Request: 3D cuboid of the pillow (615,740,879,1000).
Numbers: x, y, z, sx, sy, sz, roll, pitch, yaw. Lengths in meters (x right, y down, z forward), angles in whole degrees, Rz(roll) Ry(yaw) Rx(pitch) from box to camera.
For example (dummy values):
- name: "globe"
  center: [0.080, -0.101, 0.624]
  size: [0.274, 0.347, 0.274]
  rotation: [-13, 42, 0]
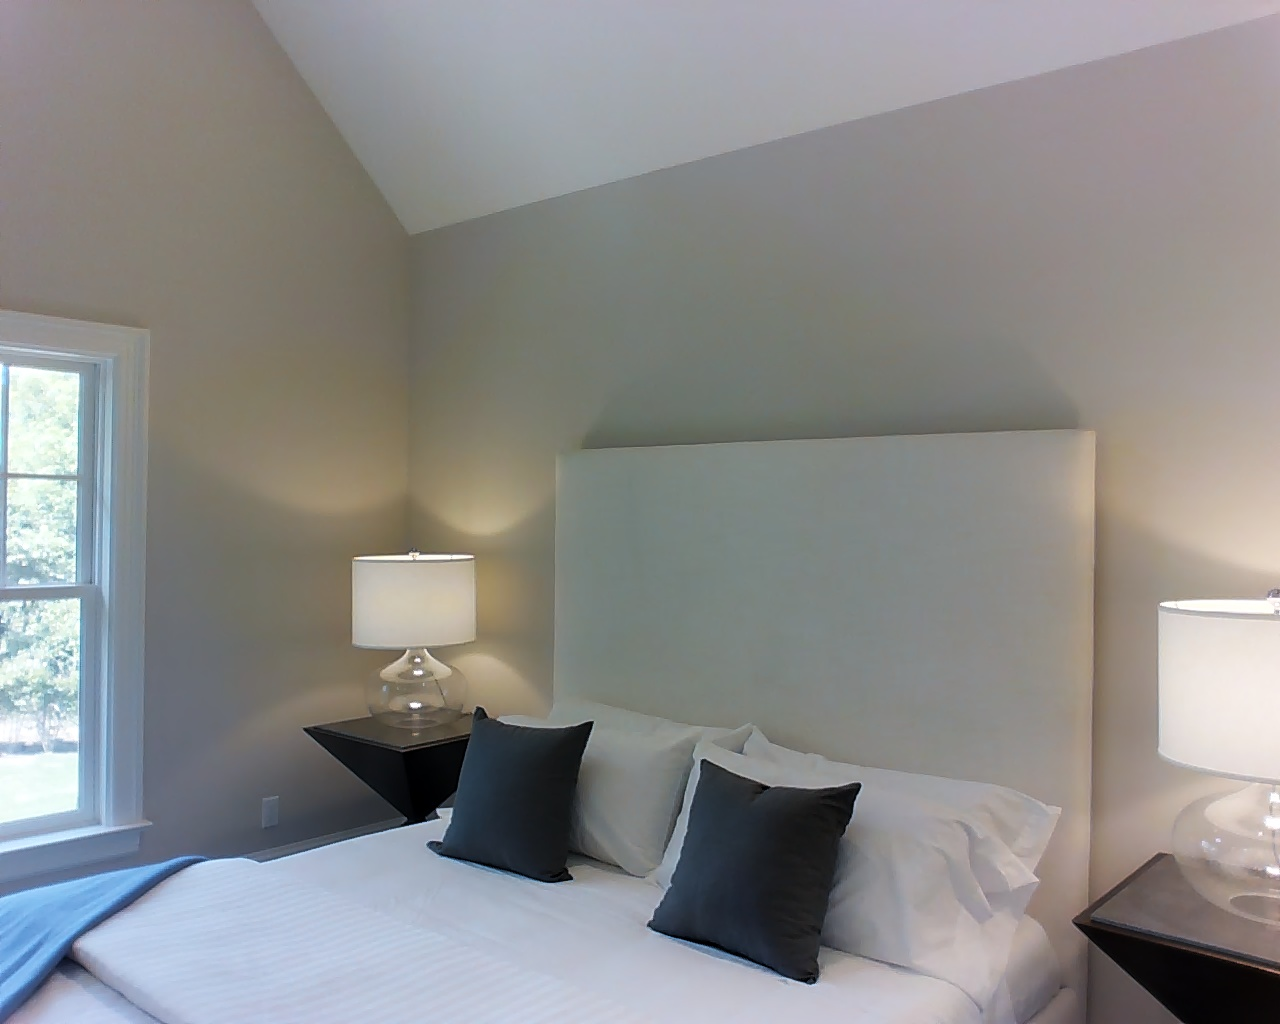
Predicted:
- name: "pillow"
  center: [0.260, 0.850, 2.640]
  size: [0.520, 0.420, 0.290]
  rotation: [0, 15, 41]

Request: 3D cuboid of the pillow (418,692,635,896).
- name: "pillow"
  center: [-0.340, 0.820, 3.220]
  size: [0.490, 0.410, 0.350]
  rotation: [0, 12, 41]
